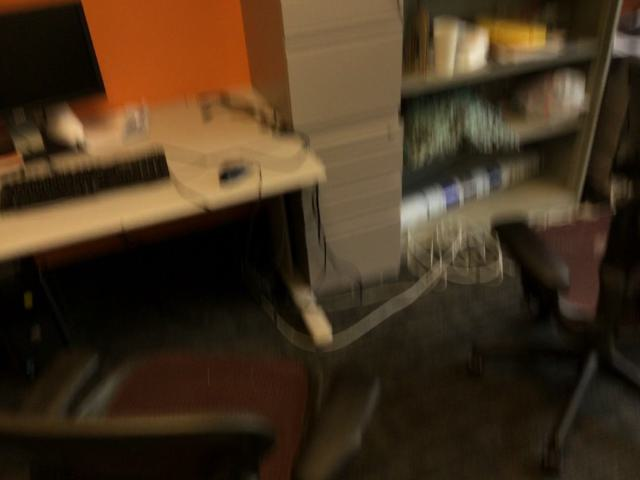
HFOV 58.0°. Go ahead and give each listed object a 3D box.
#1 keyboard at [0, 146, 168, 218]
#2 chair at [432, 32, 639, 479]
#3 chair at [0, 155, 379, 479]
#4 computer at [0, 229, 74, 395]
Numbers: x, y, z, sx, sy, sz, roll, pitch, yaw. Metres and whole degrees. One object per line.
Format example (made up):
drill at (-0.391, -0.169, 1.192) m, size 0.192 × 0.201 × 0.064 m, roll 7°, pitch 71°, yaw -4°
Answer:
keyboard at (-0.630, -0.160, 1.540) m, size 0.420 × 0.040 × 0.150 m, roll -15°, pitch 36°, yaw -15°
chair at (0.760, 0.070, 1.470) m, size 0.640 × 0.940 × 0.680 m, roll -14°, pitch 35°, yaw -14°
chair at (-0.240, 0.410, 1.150) m, size 0.690 × 0.960 × 0.630 m, roll 1°, pitch 34°, yaw 7°
computer at (-1.020, 0.240, 1.880) m, size 0.300 × 0.400 × 0.290 m, roll -15°, pitch 36°, yaw -15°
